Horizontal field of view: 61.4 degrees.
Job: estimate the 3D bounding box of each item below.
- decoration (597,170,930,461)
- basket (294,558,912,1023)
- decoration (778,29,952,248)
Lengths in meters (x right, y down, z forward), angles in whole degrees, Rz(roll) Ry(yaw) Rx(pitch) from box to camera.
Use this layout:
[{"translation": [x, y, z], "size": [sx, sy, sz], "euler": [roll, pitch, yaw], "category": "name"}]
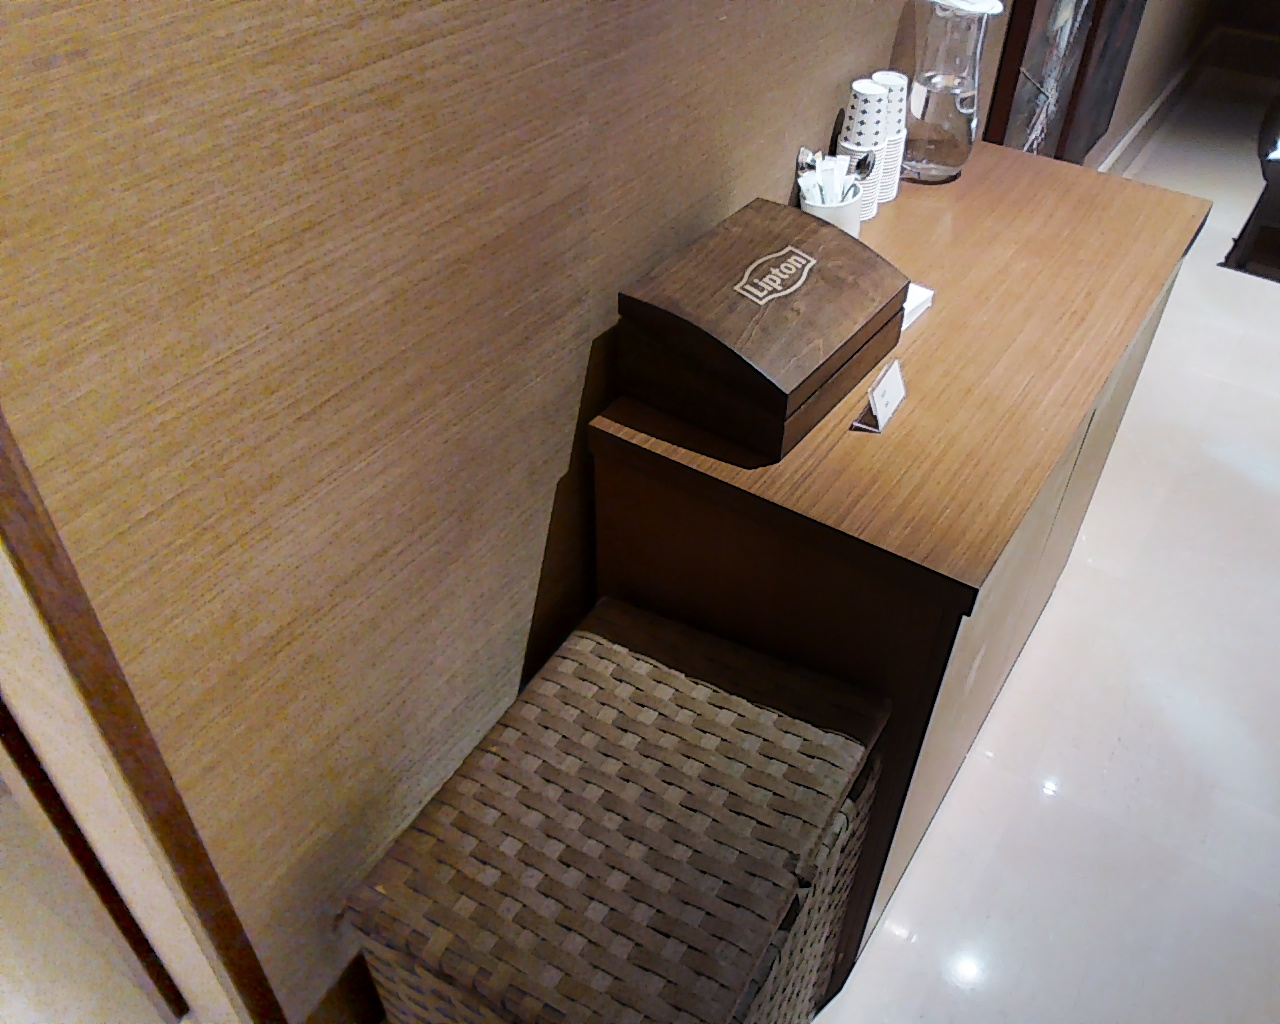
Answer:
[{"translation": [0.150, -0.250, 1.290], "size": [0.250, 0.140, 0.340], "euler": [25, 48, 24], "category": "decoration"}, {"translation": [-0.030, 0.510, 1.320], "size": [0.460, 0.660, 0.440], "euler": [25, 47, 24], "category": "basket"}, {"translation": [0.330, -0.550, 1.570], "size": [0.090, 0.190, 0.330], "euler": [25, 48, 24], "category": "decoration"}]
